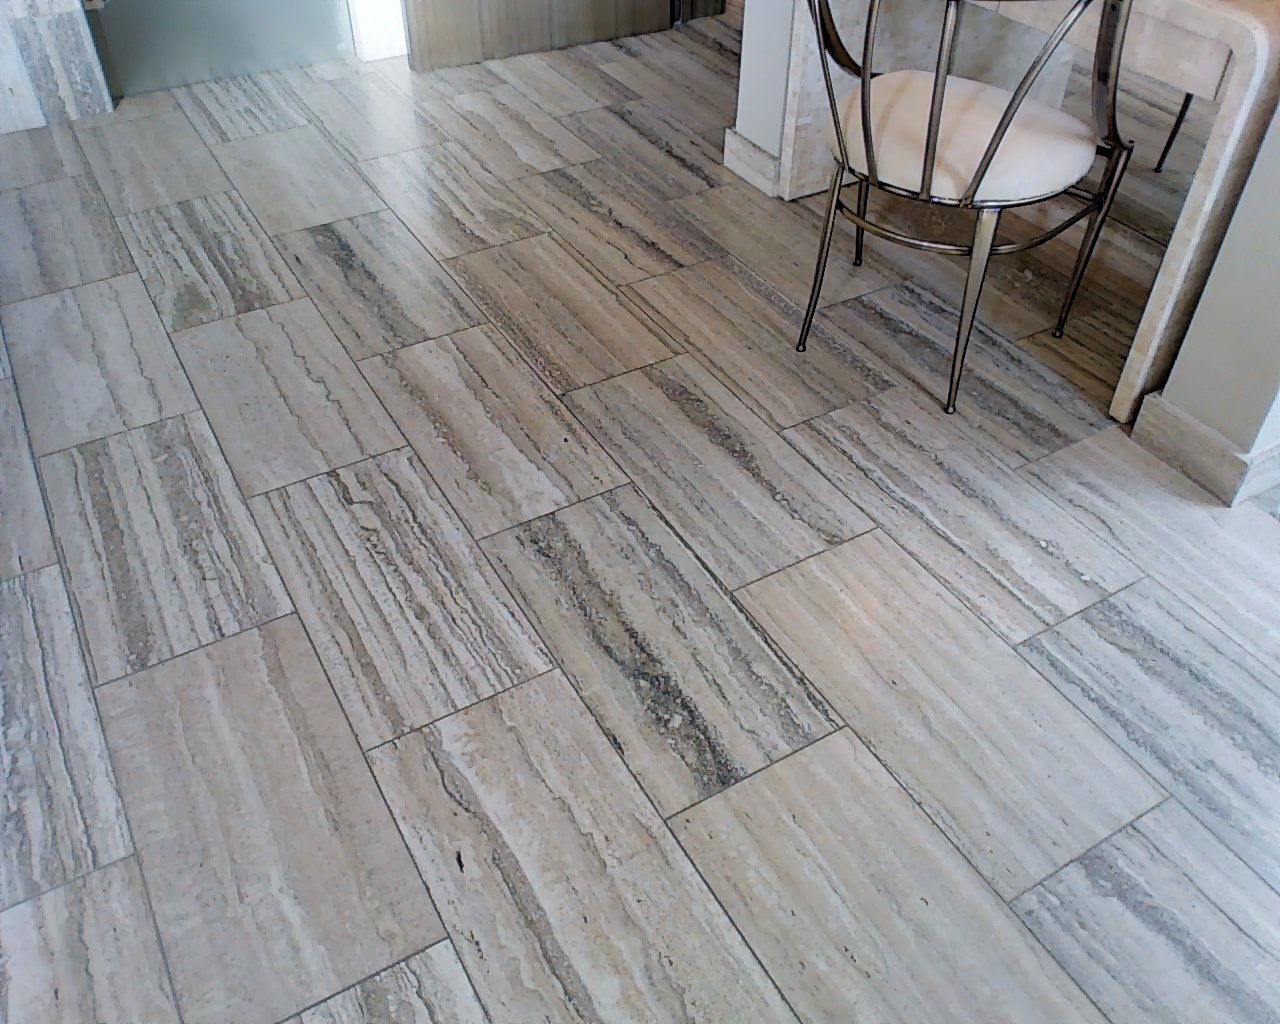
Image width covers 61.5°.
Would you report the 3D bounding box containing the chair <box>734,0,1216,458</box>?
[{"bbox_3d":[0.590,-0.640,1.990,0.580,0.750,0.550,26,48,26],"label":"chair"}]
